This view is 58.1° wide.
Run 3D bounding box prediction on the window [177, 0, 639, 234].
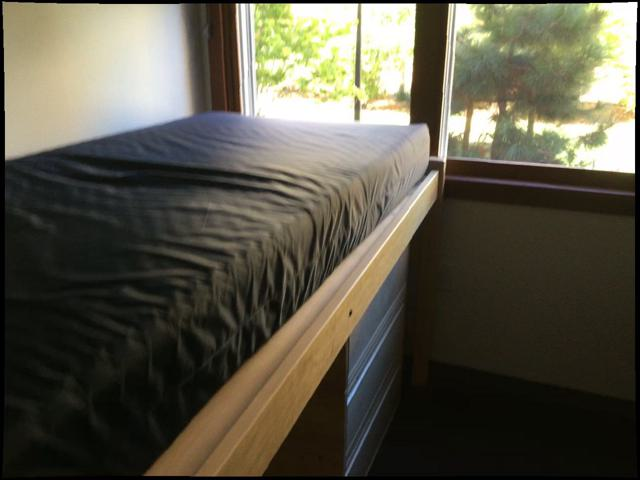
[{"bbox_3d":[0.419,-0.722,2.050,1.926,1.203,0.320,7,22,19],"label":"window"}]
